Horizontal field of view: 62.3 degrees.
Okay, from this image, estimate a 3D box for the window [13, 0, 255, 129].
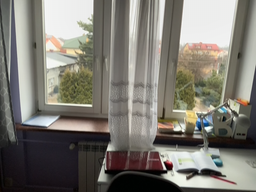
[{"bbox_3d":[0.040,-0.470,2.150,2.180,1.490,0.300,3,13,-1],"label":"window"}]
